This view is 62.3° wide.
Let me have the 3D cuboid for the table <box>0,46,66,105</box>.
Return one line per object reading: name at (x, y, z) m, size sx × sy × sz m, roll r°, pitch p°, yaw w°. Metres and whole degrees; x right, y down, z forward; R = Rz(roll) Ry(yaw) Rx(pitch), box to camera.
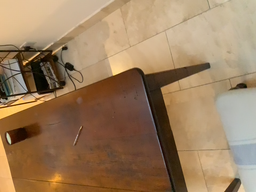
table at (-1.140, -0.190, 2.140) m, size 0.580 × 0.710 × 0.440 m, roll -14°, pitch 91°, yaw 40°
